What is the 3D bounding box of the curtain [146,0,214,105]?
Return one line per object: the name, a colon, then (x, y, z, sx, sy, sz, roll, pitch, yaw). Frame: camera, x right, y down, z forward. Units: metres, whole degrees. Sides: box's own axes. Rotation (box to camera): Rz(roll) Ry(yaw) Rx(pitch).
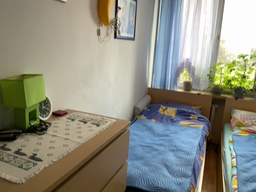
curtain: (0.750, -0.840, 3.110, 0.810, 1.850, 0.160, 8, 14, 18)
